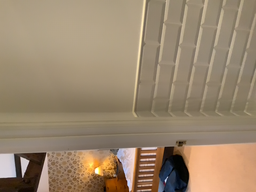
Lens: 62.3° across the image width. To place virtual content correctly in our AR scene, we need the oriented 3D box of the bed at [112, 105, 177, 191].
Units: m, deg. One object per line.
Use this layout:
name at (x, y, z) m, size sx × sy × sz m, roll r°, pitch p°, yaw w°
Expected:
bed at (0.180, 1.030, 4.260) m, size 2.010 × 0.640 × 1.160 m, roll -131°, pitch 44°, yaw -71°
